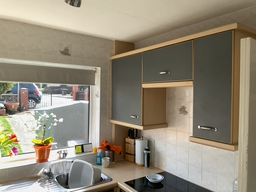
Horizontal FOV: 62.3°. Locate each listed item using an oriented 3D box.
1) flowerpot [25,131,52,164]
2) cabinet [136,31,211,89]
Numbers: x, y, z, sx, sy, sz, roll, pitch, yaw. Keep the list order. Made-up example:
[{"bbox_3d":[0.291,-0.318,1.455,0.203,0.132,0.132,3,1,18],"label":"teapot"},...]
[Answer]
[{"bbox_3d":[-0.950,0.530,2.230,0.190,0.250,0.340,0,1,-35],"label":"flowerpot"},{"bbox_3d":[0.390,-0.280,1.930,0.350,0.430,0.580,0,1,-37],"label":"cabinet"}]
